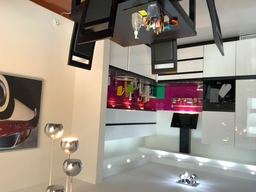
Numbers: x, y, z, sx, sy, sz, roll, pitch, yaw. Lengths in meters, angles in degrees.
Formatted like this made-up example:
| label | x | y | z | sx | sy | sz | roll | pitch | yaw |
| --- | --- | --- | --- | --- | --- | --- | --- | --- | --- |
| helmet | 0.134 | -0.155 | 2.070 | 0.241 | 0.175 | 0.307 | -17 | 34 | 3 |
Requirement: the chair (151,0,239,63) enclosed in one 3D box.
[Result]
| label | x | y | z | sx | sy | sz | roll | pitch | yaw |
| --- | --- | --- | --- | --- | --- | --- | --- | --- | --- |
| chair | 0.570 | -0.880 | 1.760 | 0.550 | 1.070 | 0.470 | 0 | 175 | 37 |

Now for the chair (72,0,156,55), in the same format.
| label | x | y | z | sx | sy | sz | roll | pitch | yaw |
| --- | --- | --- | --- | --- | --- | --- | --- | --- | --- |
| chair | -0.080 | -0.940 | 1.810 | 0.470 | 1.030 | 0.530 | 1 | 175 | 30 |
